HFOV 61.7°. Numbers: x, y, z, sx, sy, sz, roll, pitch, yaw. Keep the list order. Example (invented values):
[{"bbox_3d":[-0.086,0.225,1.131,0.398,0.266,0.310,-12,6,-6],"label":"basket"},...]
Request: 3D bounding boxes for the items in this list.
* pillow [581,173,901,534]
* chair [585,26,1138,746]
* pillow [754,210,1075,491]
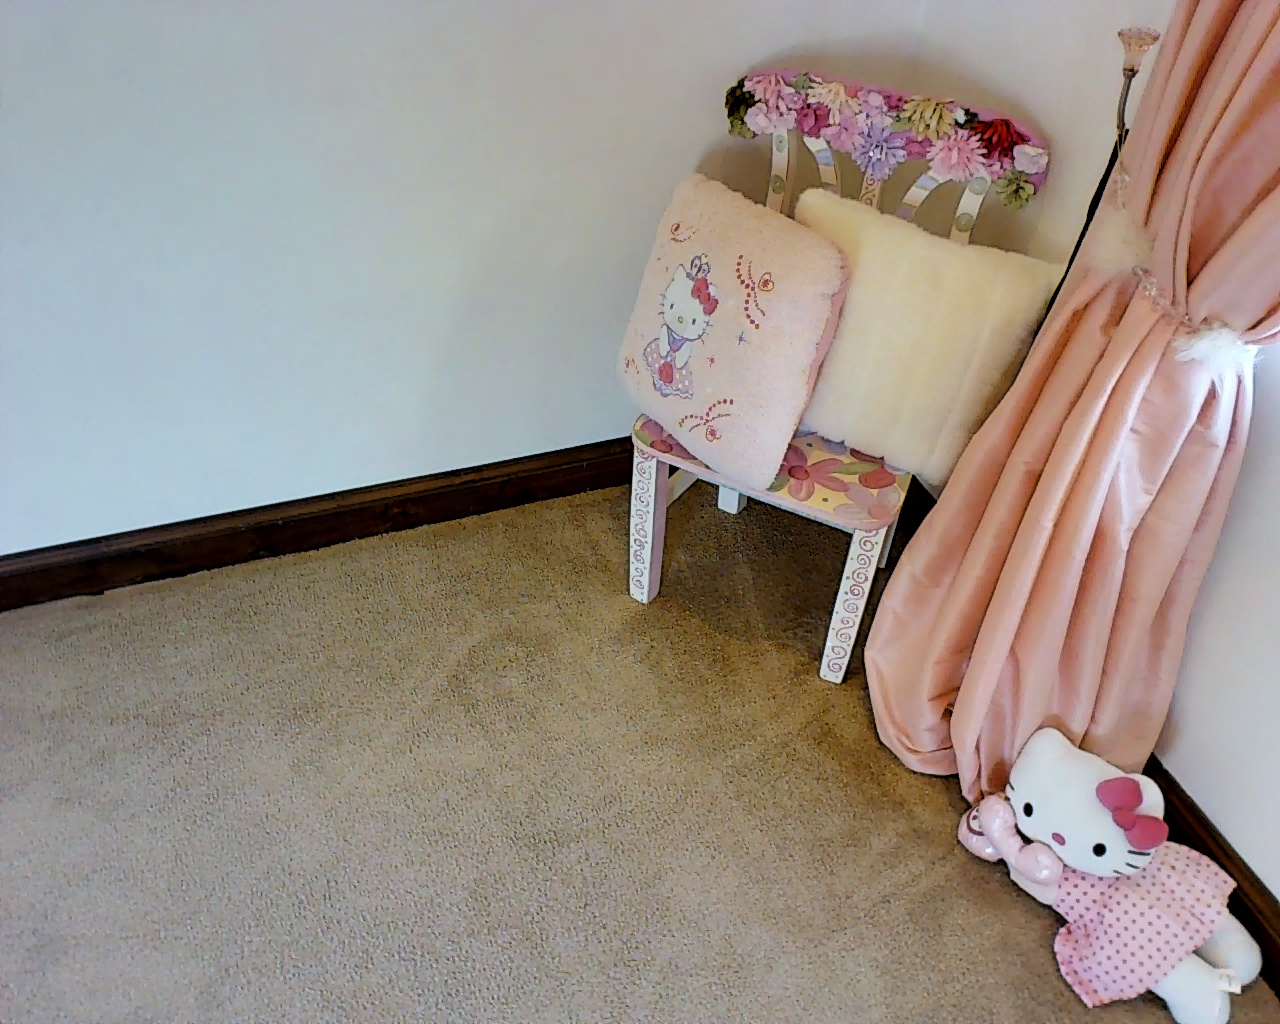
[{"bbox_3d":[0.160,-0.280,1.840,0.230,0.500,0.480,-22,20,-21],"label":"pillow"},{"bbox_3d":[0.370,-0.250,2.020,0.660,0.970,0.730,21,44,19],"label":"chair"},{"bbox_3d":[0.450,-0.260,1.770,0.470,0.410,0.180,0,20,16],"label":"pillow"}]
